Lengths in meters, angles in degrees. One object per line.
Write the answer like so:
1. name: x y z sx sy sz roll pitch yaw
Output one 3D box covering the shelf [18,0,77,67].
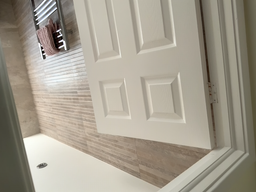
1. shelf: -0.800 -1.020 1.810 0.170 1.460 0.770 -15 -170 -35
